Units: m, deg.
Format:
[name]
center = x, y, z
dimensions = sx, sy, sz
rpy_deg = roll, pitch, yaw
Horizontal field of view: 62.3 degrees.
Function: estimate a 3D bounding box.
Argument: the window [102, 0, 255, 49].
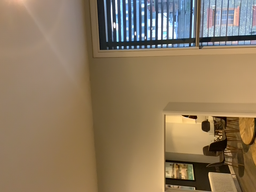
[window]
center = 0.570, -0.710, 1.640
dimensions = 0.090, 1.590, 0.610
rpy_deg = -38, -53, -75
